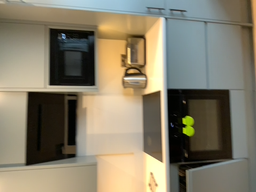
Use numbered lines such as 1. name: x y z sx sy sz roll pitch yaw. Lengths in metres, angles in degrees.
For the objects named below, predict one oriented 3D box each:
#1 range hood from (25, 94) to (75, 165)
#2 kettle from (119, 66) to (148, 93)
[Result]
1. range hood: -0.680 0.280 1.910 0.300 0.380 0.570 168 102 -76
2. kettle: 0.050 -0.160 2.180 0.240 0.240 0.230 159 111 -75
